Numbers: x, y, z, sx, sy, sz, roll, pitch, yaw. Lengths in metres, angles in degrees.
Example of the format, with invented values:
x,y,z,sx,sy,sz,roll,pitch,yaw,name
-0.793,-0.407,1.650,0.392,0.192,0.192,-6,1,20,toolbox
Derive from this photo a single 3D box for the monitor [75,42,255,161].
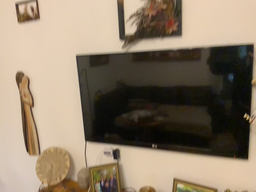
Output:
x,y,z,sx,sy,sz,roll,pitch,yaw,name
0.150,0.030,1.210,0.960,0.590,0.040,1,12,21,monitor

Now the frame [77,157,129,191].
x,y,z,sx,sy,sz,roll,pitch,yaw,name
-0.150,0.540,1.350,0.230,0.210,0.190,-3,20,23,frame
